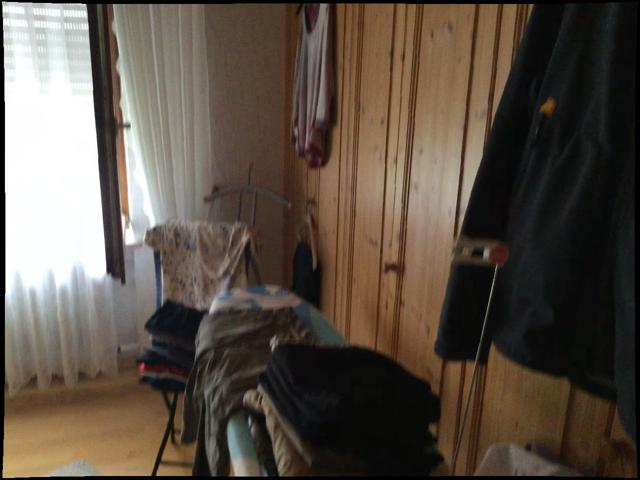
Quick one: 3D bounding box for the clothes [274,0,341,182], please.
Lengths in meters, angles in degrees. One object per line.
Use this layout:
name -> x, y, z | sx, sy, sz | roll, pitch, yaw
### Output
clothes -> -0.070, -0.741, 2.430 | 0.090, 0.861, 0.720 | -5, 18, -15

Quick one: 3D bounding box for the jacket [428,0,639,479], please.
jacket -> 0.410, -0.100, 0.760 | 0.220, 0.891, 0.630 | -5, 18, -15

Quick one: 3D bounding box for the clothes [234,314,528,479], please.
clothes -> 0.070, 0.350, 1.100 | 0.390, 0.200, 0.480 | -5, 18, -15
